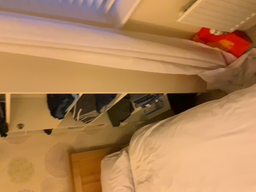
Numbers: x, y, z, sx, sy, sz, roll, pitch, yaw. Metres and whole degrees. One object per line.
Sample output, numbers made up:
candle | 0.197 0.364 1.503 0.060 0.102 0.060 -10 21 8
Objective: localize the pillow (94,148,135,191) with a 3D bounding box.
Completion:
pillow | -0.100 0.800 1.780 0.370 0.150 0.630 -40 57 53
